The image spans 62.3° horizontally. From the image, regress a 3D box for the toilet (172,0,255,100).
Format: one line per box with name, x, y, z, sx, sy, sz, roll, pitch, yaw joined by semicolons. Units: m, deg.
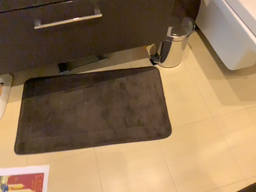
toilet;0.540;-0.370;1.040;0.380;0.460;0.550;-14;61;-8
